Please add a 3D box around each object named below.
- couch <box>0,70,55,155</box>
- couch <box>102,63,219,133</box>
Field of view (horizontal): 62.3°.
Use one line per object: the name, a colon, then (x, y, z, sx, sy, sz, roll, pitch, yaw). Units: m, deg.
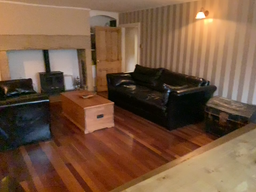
couch: (-2.020, 0.150, 3.450, 1.110, 0.860, 1.750, -9, 18, -31)
couch: (0.520, -0.140, 4.600, 1.180, 0.860, 2.320, -10, 18, -33)
